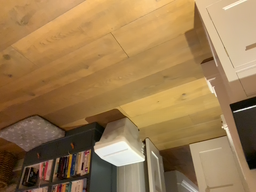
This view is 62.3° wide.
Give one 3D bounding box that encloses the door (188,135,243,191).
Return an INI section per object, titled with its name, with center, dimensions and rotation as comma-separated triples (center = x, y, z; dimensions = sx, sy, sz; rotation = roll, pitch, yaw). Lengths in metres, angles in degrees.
[door]
center = 1.210, 1.460, 2.620
dimensions = 0.540, 1.980, 0.030
rotation = -18, 141, 20
